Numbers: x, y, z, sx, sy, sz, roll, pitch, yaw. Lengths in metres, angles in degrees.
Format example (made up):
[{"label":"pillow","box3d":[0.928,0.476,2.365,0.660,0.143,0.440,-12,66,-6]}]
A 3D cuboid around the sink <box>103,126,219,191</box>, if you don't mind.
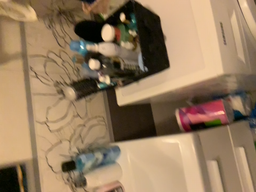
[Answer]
[{"label":"sink","box3d":[0.130,0.460,0.770,0.400,0.130,0.640,-18,79,44]}]
